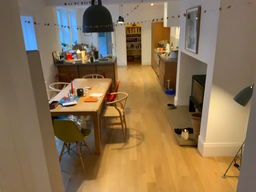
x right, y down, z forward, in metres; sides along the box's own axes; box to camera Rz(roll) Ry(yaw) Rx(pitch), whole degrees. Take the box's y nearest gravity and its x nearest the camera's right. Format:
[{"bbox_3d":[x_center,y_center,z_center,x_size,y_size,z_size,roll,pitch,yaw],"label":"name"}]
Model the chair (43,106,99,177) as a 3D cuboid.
[{"bbox_3d":[-0.760,0.600,2.960,0.470,0.760,0.530,3,20,14],"label":"chair"}]
